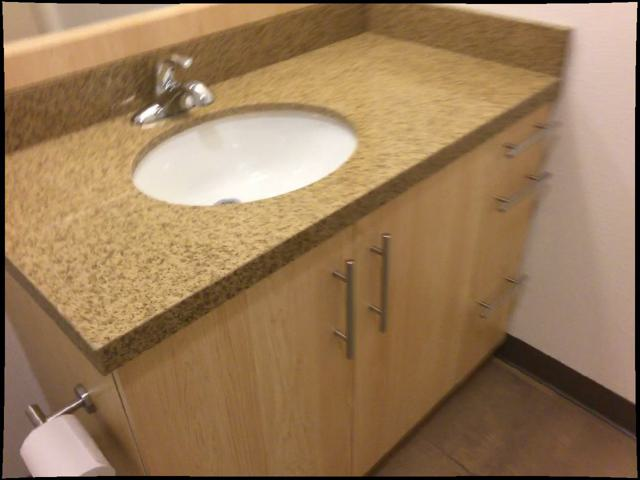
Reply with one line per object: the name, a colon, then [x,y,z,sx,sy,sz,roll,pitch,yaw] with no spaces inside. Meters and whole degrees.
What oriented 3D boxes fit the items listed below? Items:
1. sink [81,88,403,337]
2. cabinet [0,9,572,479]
sink: [-0.130,-0.090,1.080,0.450,0.180,0.360,-32,44,-34]
cabinet: [-0.050,0.100,1.340,1.089,0.912,0.599,-32,44,-34]
